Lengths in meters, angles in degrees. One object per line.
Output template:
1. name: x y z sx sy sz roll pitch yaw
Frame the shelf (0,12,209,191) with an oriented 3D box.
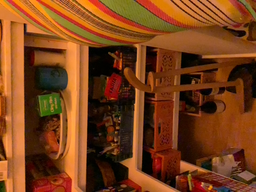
1. shelf: -0.280 0.030 1.100 0.430 1.790 0.660 7 97 51
